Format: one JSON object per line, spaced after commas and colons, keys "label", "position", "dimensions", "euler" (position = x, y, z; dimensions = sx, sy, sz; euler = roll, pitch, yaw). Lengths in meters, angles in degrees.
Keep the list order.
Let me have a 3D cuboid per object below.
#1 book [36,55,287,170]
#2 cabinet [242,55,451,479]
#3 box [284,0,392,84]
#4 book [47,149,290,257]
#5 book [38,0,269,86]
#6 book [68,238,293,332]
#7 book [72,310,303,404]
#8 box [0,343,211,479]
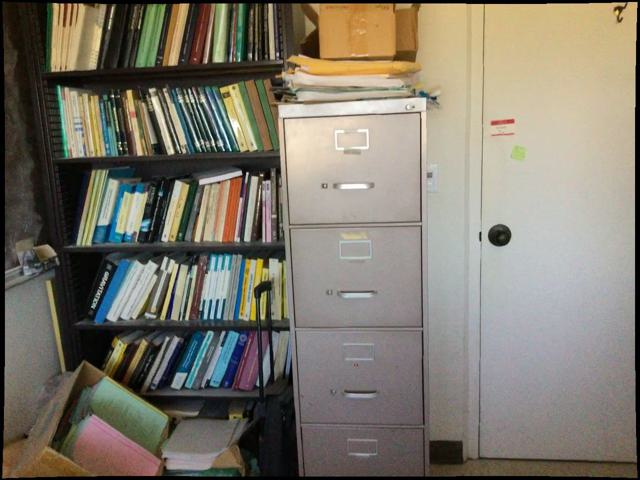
{"label": "book", "position": [-0.588, -0.481, 2.220], "dimensions": [0.868, 0.351, 0.260], "euler": [-2, 12, 8]}
{"label": "cabinet", "position": [0.150, 0.261, 1.980], "dimensions": [0.499, 1.604, 0.780], "euler": [-2, 12, 8]}
{"label": "box", "position": [0.060, -0.582, 1.650], "dimensions": [0.279, 0.231, 0.210], "euler": [-2, 12, 8]}
{"label": "book", "position": [-0.569, -0.150, 2.260], "dimensions": [0.838, 0.341, 0.300], "euler": [-2, 12, 8]}
{"label": "book", "position": [-0.588, -0.732, 2.070], "dimensions": [0.768, 0.281, 0.160], "euler": [-2, 12, 8]}
{"label": "book", "position": [-0.549, 0.180, 2.340], "dimensions": [0.828, 0.301, 0.250], "euler": [-2, 12, 8]}
{"label": "book", "position": [-0.529, 0.481, 2.380], "dimensions": [0.868, 0.291, 0.260], "euler": [-2, 12, 8]}
{"label": "box", "position": [-0.778, 0.712, 1.980], "dimensions": [0.569, 0.471, 0.690], "euler": [-2, 12, 8]}
